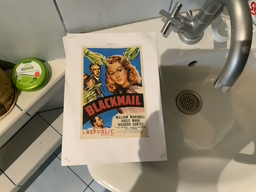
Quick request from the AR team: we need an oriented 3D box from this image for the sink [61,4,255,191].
[{"bbox_3d":[0.180,0.030,0.550,0.610,0.190,0.440,-10,70,-6],"label":"sink"}]
